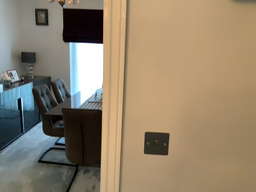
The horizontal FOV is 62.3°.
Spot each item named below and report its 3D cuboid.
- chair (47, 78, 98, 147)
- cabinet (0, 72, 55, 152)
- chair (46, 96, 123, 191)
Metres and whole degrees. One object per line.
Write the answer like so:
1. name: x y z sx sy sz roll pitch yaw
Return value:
1. chair: -0.850 0.230 3.370 0.600 0.940 0.570 4 13 4
2. cabinet: -1.910 0.130 3.620 0.610 0.840 1.750 4 13 4
3. chair: -0.400 0.540 2.150 0.590 0.940 0.580 4 13 4
